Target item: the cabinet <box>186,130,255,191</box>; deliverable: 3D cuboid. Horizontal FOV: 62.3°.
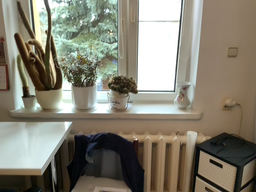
[{"bbox_3d":[0.720,0.690,1.610,0.450,0.700,0.320,-10,18,-36],"label":"cabinet"}]
